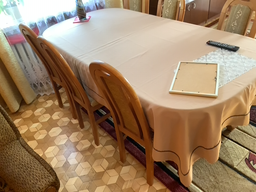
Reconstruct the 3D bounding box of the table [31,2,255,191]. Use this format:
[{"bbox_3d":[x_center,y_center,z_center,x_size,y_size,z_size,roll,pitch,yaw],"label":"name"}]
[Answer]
[{"bbox_3d":[0.080,-0.230,2.030,1.050,0.760,2.070,-31,44,-27],"label":"table"}]
